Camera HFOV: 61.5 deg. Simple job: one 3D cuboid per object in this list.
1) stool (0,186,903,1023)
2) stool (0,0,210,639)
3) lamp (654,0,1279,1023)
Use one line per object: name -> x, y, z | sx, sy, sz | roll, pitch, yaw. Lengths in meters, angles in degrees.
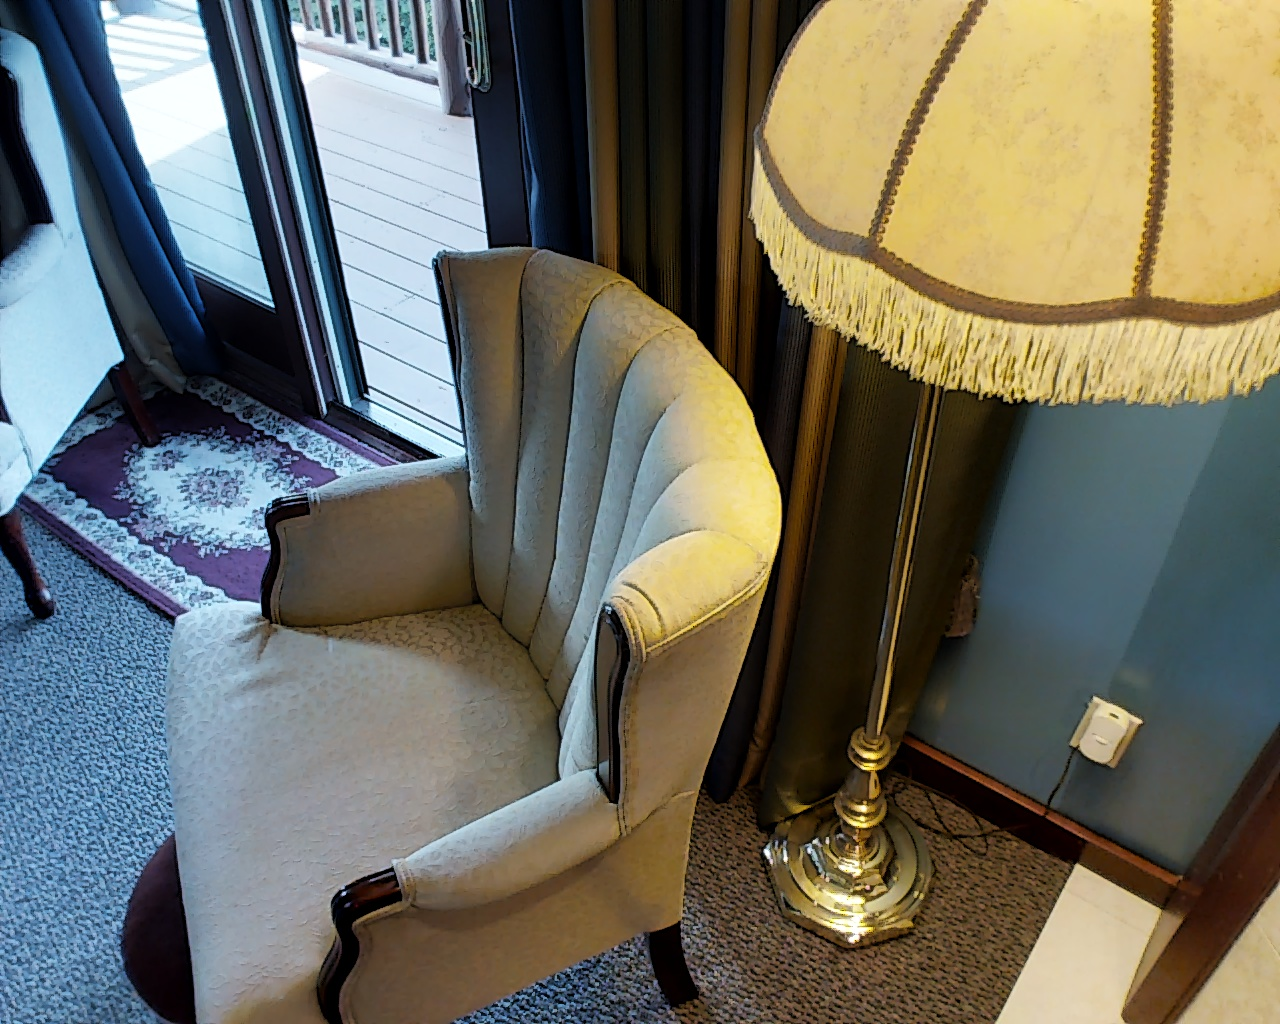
stool -> -0.270, 0.220, 1.380 | 0.780, 0.900, 0.770 | -12, 43, -13
stool -> -1.500, -0.400, 2.130 | 0.750, 0.980, 0.760 | 5, 42, 6
lamp -> 0.320, 0.140, 1.160 | 0.440, 1.410, 0.410 | 26, 48, 27
